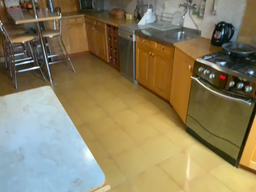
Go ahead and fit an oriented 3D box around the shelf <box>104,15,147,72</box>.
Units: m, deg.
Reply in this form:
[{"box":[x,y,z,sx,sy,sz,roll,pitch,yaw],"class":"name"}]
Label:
[{"box":[-0.040,-0.960,3.860,0.610,0.850,0.420,-18,34,-28],"class":"shelf"}]
